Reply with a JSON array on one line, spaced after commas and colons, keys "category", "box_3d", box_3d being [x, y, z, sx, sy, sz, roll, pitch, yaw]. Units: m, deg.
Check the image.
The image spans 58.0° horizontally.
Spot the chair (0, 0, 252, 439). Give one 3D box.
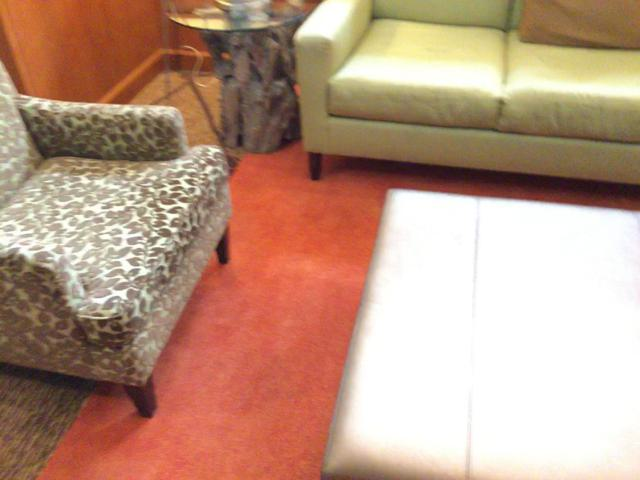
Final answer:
[{"category": "chair", "box_3d": [-0.790, -0.160, 1.560, 0.920, 0.930, 0.770, 9, 41, 12]}]

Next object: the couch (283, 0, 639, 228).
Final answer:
[{"category": "couch", "box_3d": [1.030, -0.790, 2.200, 2.110, 1.010, 1.020, 9, 41, 12]}]

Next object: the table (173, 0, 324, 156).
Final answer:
[{"category": "table", "box_3d": [-0.270, -0.790, 2.540, 0.460, 0.600, 0.510, 9, 41, 12]}]
